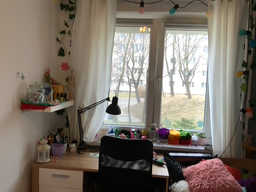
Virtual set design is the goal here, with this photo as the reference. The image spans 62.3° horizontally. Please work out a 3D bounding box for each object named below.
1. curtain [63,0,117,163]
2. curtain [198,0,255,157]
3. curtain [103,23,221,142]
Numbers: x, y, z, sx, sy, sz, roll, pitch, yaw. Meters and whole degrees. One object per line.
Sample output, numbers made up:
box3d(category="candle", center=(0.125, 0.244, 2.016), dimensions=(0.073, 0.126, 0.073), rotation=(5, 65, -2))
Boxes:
box3d(category="curtain", center=(-0.410, -0.280, 2.330), dimensions=(0.450, 1.940, 0.260), rotation=(3, 4, 8))
box3d(category="curtain", center=(1.020, -0.290, 2.230), dimensions=(0.390, 1.760, 0.270), rotation=(3, 4, 9))
box3d(category="curtain", center=(0.420, -0.190, 2.850), dimensions=(1.400, 1.440, 0.290), rotation=(3, 4, 7))
